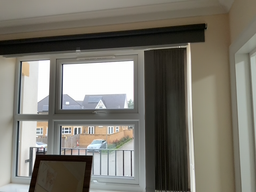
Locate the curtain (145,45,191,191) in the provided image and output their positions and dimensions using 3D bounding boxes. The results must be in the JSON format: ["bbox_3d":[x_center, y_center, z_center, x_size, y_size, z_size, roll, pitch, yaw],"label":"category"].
[{"bbox_3d":[0.320,0.200,1.720,0.330,1.200,0.110,-1,-5,11],"label":"curtain"}]
